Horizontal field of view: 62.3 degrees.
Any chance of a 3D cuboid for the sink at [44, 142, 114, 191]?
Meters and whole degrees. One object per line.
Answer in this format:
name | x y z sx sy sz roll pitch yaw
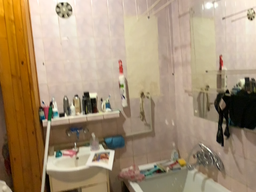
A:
sink | -0.430 0.580 1.840 0.510 0.170 0.420 -6 7 -17
